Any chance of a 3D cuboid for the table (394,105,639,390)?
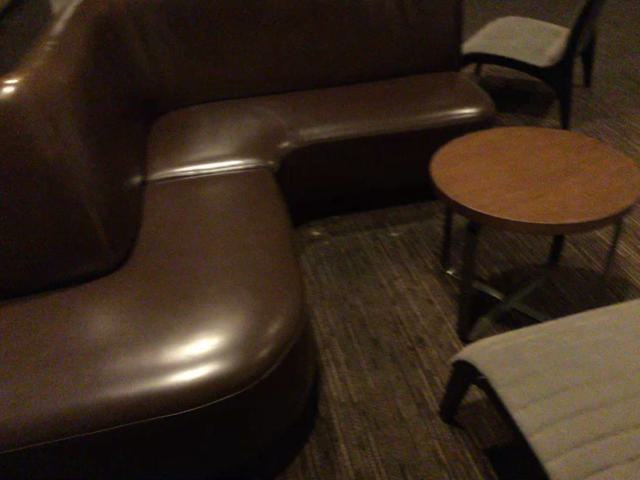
[{"bbox_3d":[0.610,-0.010,1.760,0.590,0.520,0.590,-12,35,-8],"label":"table"}]
